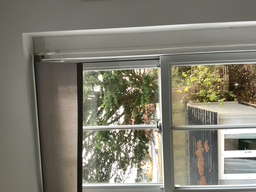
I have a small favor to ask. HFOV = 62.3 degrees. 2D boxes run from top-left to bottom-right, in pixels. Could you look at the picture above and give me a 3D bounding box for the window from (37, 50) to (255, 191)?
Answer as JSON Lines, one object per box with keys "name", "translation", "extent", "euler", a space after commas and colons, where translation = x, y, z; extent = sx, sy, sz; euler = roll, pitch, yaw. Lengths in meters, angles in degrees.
{"name": "window", "translation": [0.310, 0.210, 1.180], "extent": [0.120, 1.540, 0.870], "euler": [-68, -24, -84]}
